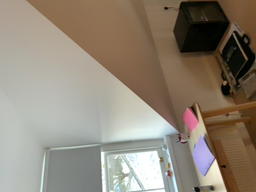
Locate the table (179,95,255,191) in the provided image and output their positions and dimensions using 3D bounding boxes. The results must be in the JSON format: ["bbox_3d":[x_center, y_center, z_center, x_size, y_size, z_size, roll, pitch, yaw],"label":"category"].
[{"bbox_3d":[1.010,0.650,1.840,0.540,0.740,1.190,95,169,-58],"label":"table"}]

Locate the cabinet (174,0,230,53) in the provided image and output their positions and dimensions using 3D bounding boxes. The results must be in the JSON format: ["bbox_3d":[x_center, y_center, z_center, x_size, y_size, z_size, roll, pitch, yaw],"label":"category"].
[{"bbox_3d":[0.960,-0.950,2.860,0.490,0.470,0.490,93,171,-56],"label":"cabinet"}]
